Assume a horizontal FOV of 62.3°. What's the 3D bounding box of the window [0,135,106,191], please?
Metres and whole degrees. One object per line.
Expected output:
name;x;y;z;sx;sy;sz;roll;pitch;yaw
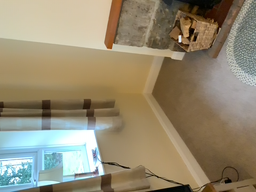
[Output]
window;-0.880;0.740;2.170;0.750;1.170;0.080;-115;35;-47
